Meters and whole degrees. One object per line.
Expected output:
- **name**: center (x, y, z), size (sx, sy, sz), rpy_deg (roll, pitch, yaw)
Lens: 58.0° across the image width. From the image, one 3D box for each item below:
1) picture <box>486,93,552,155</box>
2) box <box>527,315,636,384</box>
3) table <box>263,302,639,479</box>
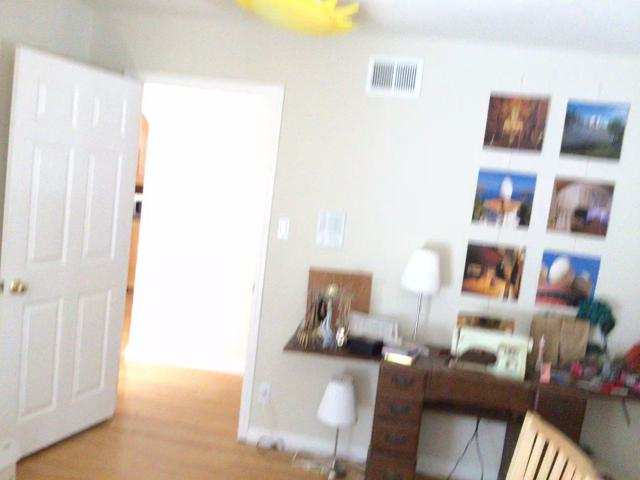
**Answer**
- **picture**: center (1.010, -0.590, 2.940), size (0.280, 0.280, 0.050), rpy_deg (7, 3, 10)
- **box**: center (1.290, 0.540, 2.880), size (0.430, 0.240, 0.200), rpy_deg (7, 3, 10)
- **table**: center (0.700, 0.920, 2.900), size (1.820, 0.900, 0.570), rpy_deg (7, 3, 10)
